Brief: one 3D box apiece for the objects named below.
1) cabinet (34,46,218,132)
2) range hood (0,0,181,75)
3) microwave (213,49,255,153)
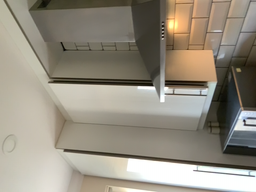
[{"bbox_3d":[0.000,-0.050,1.660,0.580,1.180,0.330,80,-163,-52],"label":"cabinet"},{"bbox_3d":[-0.160,-0.430,1.220,0.550,0.870,0.290,79,-163,-52],"label":"range hood"},{"bbox_3d":[0.840,0.050,1.460,0.560,0.330,0.460,80,-163,-51],"label":"microwave"}]
